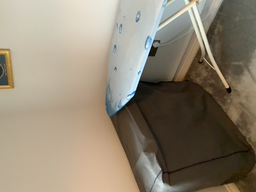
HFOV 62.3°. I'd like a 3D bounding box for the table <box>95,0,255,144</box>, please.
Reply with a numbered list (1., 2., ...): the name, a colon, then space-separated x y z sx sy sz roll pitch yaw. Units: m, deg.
1. table: 0.400 -0.470 1.360 0.520 0.860 1.660 -117 34 -41
